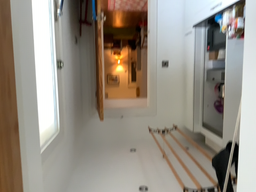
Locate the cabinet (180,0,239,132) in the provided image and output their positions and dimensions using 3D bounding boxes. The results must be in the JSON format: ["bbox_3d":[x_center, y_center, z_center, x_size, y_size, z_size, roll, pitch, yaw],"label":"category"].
[{"bbox_3d":[1.080,-0.560,2.890,0.600,2.040,0.360,-1,-173,-3],"label":"cabinet"}]
